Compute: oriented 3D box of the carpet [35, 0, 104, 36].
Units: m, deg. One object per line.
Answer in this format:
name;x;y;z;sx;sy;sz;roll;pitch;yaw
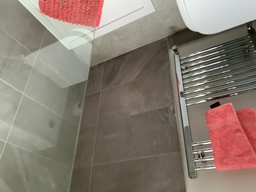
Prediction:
carpet;-0.370;-0.660;1.360;0.430;0.050;0.540;10;145;-13
